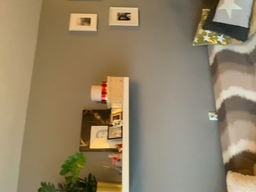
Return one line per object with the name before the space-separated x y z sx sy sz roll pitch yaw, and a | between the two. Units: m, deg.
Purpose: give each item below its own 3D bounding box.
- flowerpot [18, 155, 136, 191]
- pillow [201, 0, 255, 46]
flowerpot | -0.330 0.750 1.620 0.600 0.750 0.470 94 177 -65
pillow | 0.940 -0.810 1.920 0.510 0.330 0.480 95 177 -69
